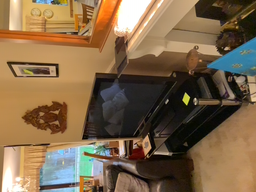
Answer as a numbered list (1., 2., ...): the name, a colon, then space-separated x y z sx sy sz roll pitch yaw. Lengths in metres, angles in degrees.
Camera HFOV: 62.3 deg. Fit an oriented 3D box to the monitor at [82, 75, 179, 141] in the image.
1. monitor: -0.040 0.160 1.980 0.930 0.670 0.090 114 151 -50
